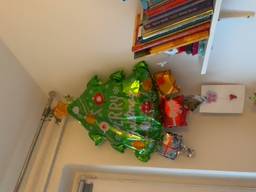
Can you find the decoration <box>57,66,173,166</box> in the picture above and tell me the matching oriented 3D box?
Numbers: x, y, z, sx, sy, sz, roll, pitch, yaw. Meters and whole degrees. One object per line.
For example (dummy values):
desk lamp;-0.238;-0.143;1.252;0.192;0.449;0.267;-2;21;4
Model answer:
decoration;-0.030;0.080;1.200;0.400;0.530;0.410;-67;-24;-67
